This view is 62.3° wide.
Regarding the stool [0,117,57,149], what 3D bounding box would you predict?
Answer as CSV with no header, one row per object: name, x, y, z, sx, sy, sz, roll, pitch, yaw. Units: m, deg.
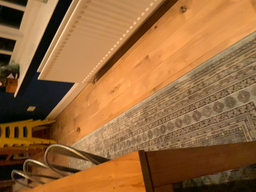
stool,-1.660,0.600,3.450,0.450,0.820,0.360,-36,58,45
